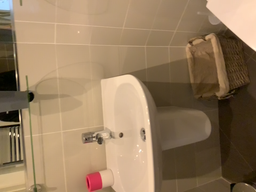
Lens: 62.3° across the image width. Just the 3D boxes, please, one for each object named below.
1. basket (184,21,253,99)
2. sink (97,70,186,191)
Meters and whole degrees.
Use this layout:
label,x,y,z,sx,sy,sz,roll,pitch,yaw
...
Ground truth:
label,x,y,z,sx,sy,sz,roll,pitch,yaw
basket,0.520,-0.200,1.240,0.190,0.240,0.390,-24,74,63
sink,0.030,0.190,0.920,0.450,0.150,0.560,3,98,64
